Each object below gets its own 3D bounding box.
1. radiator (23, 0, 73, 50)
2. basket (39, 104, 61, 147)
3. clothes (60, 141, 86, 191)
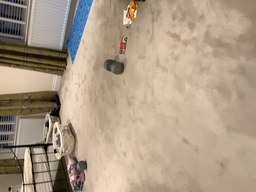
[{"bbox_3d":[-1.340,-1.420,3.600,0.110,0.680,1.200,55,132,46],"label":"radiator"},{"bbox_3d":[-1.630,0.610,4.390,0.550,0.260,0.700,60,135,42],"label":"basket"},{"bbox_3d":[-0.820,1.040,3.110,0.470,0.170,0.580,45,124,51],"label":"clothes"}]
